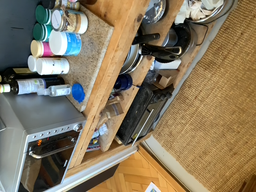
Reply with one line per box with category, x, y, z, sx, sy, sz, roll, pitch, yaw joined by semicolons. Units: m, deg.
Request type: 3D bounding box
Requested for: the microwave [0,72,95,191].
microwave;-0.450;0.210;1.030;0.340;0.290;0.530;43;123;27
